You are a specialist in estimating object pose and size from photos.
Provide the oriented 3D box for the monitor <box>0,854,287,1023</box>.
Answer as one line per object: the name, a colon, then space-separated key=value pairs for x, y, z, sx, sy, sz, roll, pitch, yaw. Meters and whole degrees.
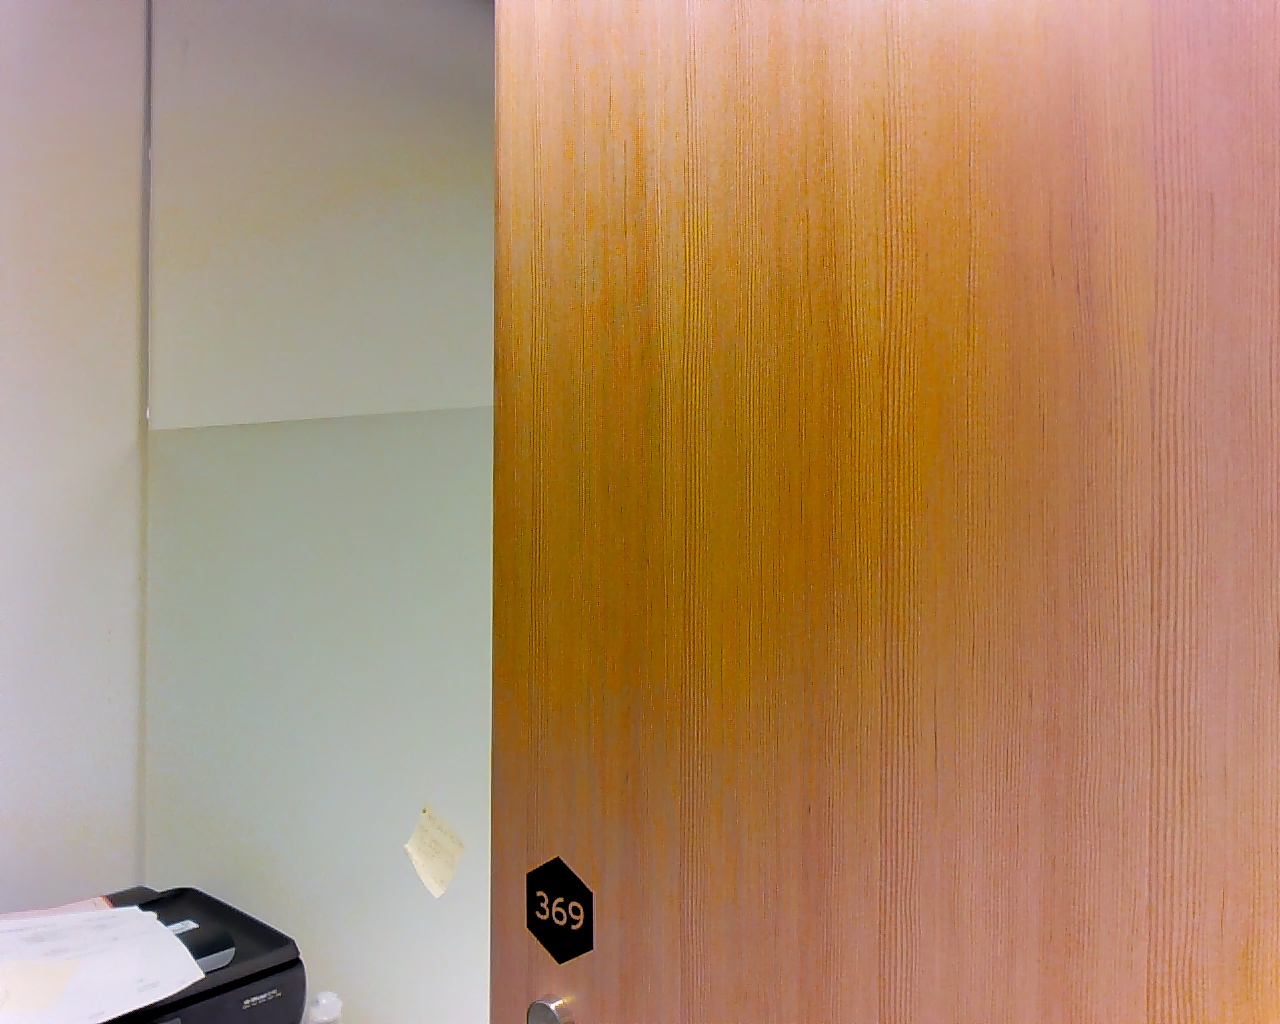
monitor: x=-0.700 y=0.590 z=1.160 sx=0.630 sy=0.240 sz=0.300 roll=0 pitch=0 yaw=38
